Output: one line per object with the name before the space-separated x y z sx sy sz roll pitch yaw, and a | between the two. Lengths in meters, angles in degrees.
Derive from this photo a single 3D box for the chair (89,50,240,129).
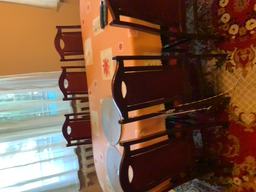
chair | 0.270 -0.080 1.510 0.490 0.940 0.400 3 98 61

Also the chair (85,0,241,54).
chair | 0.250 -0.530 1.460 0.490 0.940 0.400 3 98 61

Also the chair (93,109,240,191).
chair | 0.290 0.370 1.550 0.490 0.940 0.400 3 98 61
